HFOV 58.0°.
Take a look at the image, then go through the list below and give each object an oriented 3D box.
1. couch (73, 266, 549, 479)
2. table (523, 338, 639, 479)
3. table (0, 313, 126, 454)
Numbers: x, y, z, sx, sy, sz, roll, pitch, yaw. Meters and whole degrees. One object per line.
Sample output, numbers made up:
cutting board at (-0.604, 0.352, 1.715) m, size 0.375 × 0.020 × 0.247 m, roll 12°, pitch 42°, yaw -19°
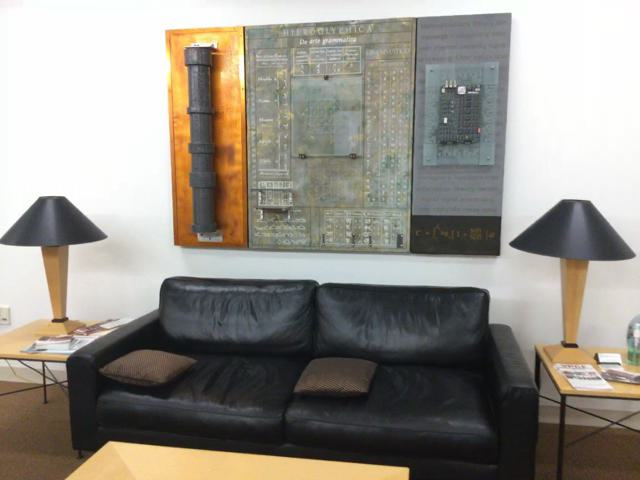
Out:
couch at (-0.030, 0.610, 2.600) m, size 1.800 × 0.790 × 0.850 m, roll 2°, pitch 6°, yaw 10°
table at (1.260, 0.790, 2.470) m, size 0.610 × 0.520 × 0.700 m, roll 4°, pitch 6°, yaw 11°
table at (-1.330, 0.670, 2.840) m, size 0.510 × 0.490 × 0.560 m, roll 2°, pitch 4°, yaw 9°
